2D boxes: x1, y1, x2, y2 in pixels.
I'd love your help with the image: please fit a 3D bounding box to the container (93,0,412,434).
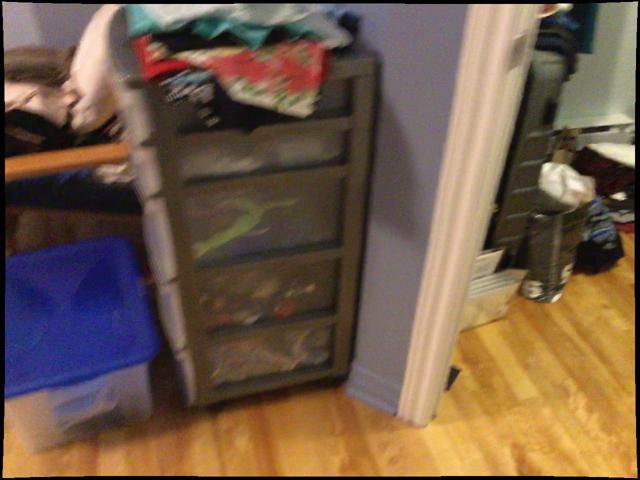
[{"bbox_3d":[-0.150,-0.090,1.280,0.440,0.951,0.490,-7,41,-11],"label":"container"}]
